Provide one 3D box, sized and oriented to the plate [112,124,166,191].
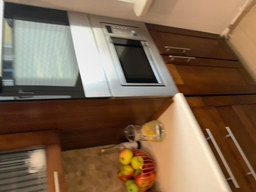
[{"bbox_3d":[0.050,0.380,1.310,0.250,0.150,0.320,-58,43,48],"label":"plate"}]
